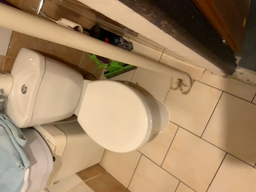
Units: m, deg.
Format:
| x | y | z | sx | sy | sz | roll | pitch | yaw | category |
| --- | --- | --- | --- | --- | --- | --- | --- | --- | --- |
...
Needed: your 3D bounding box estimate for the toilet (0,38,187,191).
| x | y | z | sx | sy | sz | roll | pitch | yaw | category |
| --- | --- | --- | --- | --- | --- | --- | --- | --- | --- |
| -0.180 | 0.050 | 1.260 | 0.740 | 0.720 | 0.400 | 30 | 104 | 31 | toilet |
